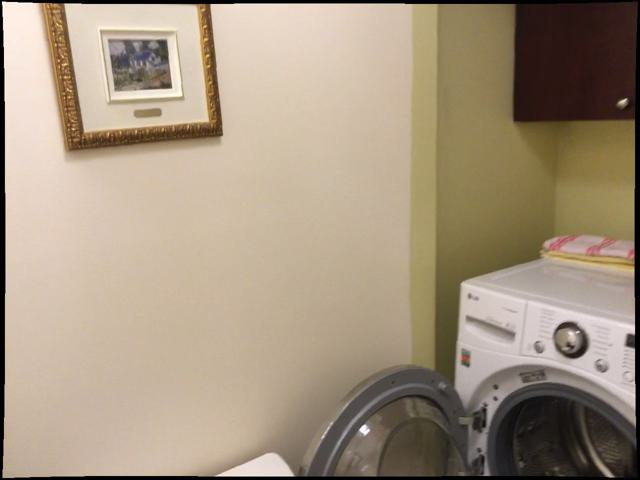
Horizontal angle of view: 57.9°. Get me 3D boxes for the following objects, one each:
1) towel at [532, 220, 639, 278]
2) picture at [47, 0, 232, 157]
[{"bbox_3d":[0.859,0.020,1.740,0.220,0.090,0.350,-11,16,-36],"label":"towel"},{"bbox_3d":[-0.310,-0.310,1.040,0.300,0.290,0.030,-13,17,-36],"label":"picture"}]
